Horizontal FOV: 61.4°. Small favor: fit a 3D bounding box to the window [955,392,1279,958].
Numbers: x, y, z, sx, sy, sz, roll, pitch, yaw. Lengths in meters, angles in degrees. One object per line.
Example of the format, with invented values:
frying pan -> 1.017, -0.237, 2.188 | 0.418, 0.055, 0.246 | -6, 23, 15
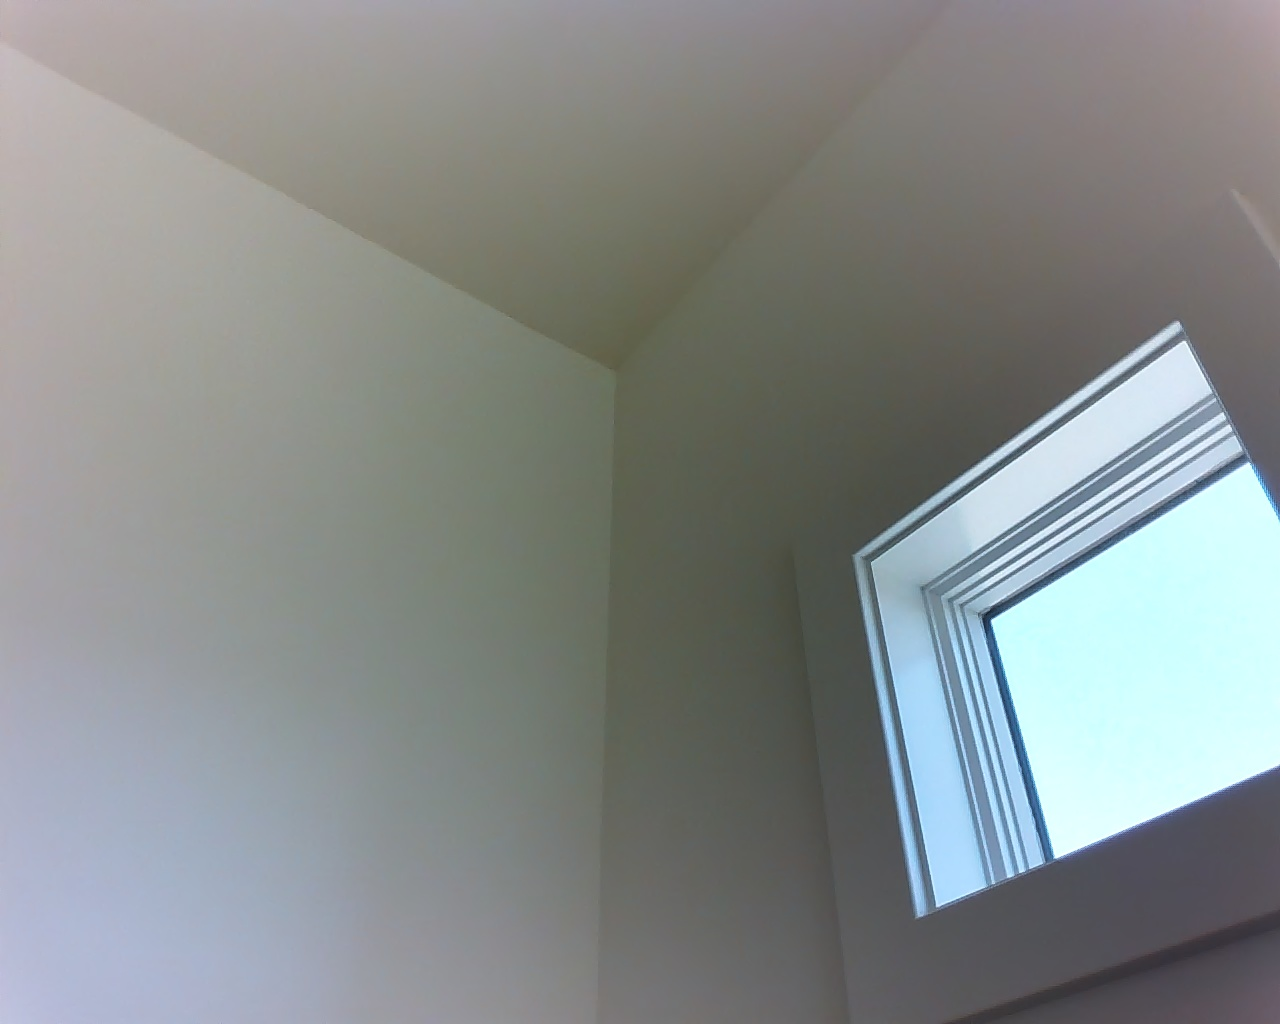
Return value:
window -> 0.490, 0.150, 0.990 | 0.060, 0.390, 0.380 | 25, -47, -25
